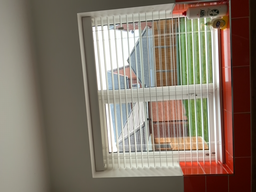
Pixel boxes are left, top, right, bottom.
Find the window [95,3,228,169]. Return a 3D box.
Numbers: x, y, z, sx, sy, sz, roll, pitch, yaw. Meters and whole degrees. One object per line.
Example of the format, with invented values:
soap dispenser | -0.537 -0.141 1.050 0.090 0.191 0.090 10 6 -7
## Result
window | 0.260 -0.040 1.650 0.180 0.910 1.170 -56 -38 -82
